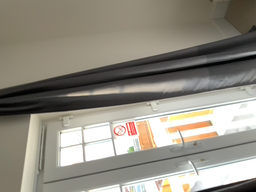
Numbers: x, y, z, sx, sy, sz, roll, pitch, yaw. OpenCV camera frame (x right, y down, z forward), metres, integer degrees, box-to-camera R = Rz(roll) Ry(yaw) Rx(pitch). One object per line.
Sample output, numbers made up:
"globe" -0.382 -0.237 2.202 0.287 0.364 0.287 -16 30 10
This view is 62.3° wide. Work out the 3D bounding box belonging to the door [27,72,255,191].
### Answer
"door" 0.360 0.250 1.470 0.060 1.980 0.800 90 168 -50
